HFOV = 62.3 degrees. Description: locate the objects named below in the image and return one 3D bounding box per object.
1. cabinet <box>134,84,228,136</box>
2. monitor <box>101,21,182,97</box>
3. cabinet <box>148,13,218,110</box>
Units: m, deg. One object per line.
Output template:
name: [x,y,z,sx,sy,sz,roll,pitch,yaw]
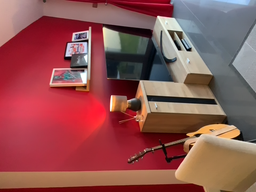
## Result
cabinet: [0.550,0.160,2.350,0.400,0.860,0.360,-101,19,-46]
monitor: [0.090,-0.610,3.020,1.650,0.890,0.110,-101,19,-46]
cabinet: [0.690,-0.610,3.150,1.740,0.340,0.500,-101,19,-46]
